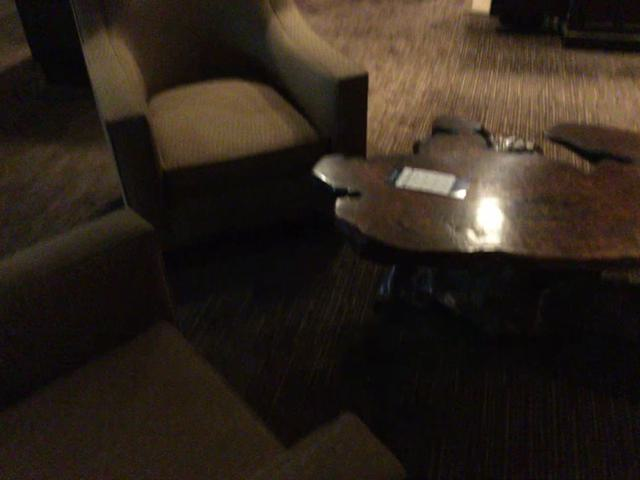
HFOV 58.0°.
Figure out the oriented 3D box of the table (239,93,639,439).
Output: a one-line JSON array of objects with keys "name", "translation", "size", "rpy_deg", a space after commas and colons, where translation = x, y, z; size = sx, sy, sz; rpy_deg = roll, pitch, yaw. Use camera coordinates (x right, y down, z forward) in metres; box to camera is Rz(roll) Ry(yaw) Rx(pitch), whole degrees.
[{"name": "table", "translation": [0.730, 0.020, 1.690], "size": [1.650, 0.460, 0.910], "rpy_deg": [7, 38, 14]}]
